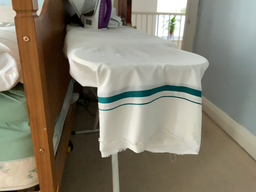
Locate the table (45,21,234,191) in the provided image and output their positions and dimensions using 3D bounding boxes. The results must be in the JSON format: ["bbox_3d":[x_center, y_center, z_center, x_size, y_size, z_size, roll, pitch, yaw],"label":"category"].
[{"bbox_3d":[-0.130,0.080,1.140,0.360,0.830,1.330,-4,23,-13],"label":"table"}]
